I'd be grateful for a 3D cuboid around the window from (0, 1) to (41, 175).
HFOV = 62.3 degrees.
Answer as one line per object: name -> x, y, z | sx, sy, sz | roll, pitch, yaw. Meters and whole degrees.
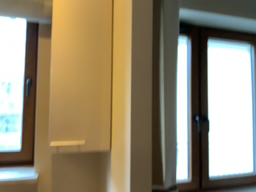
window -> -1.030, -0.060, 1.370 | 0.830, 1.110, 0.140 | 1, -3, -14
